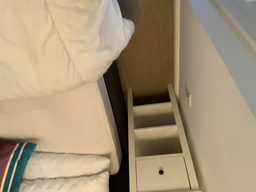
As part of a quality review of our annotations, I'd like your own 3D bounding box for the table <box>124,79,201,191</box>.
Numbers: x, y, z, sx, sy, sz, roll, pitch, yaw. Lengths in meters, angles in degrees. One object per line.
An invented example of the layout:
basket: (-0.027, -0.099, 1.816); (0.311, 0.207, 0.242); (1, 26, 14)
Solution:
table: (0.200, 0.370, 1.440); (0.340, 0.790, 0.530); (-9, 135, 6)
